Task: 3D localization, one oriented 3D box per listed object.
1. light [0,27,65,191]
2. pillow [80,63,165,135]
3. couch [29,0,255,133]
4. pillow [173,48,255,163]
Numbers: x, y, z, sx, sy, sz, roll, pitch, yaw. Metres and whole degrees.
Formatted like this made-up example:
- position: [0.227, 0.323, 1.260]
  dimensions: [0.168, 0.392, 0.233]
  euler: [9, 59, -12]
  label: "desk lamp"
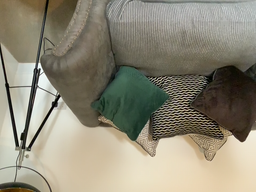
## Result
- position: [-0.880, 0.300, 1.670]
  dimensions: [0.480, 1.700, 0.250]
  euler: [16, 153, -31]
  label: "light"
- position: [-0.030, 0.030, 1.490]
  dimensions: [0.520, 0.440, 0.250]
  euler: [0, 157, 2]
  label: "pillow"
- position: [0.400, -0.230, 1.610]
  dimensions: [1.680, 0.750, 1.100]
  euler: [0, 156, 1]
  label: "couch"
- position: [0.720, 0.060, 1.520]
  dimensions: [0.510, 0.570, 0.330]
  euler: [31, 153, 10]
  label: "pillow"
